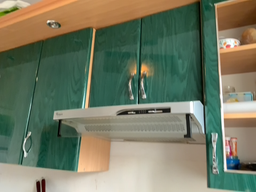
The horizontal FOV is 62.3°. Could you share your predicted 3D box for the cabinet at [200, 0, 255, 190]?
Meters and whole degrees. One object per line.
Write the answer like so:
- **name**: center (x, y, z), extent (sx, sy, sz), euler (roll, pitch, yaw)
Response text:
- **cabinet**: center (0.540, -0.090, 0.890), extent (0.390, 0.880, 0.310), euler (-4, -17, 28)
